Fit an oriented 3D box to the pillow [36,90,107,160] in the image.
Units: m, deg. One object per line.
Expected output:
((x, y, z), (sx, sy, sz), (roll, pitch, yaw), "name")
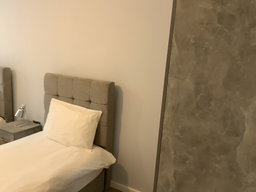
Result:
((-0.640, 0.290, 2.320), (0.760, 0.460, 0.180), (23, 18, 23), "pillow")
